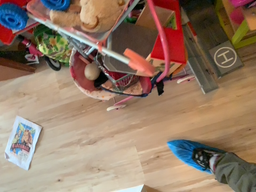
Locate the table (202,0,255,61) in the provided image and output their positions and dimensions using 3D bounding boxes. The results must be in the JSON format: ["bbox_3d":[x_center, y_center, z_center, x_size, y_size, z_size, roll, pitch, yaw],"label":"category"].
[{"bbox_3d":[0.520,-0.390,0.860,0.290,0.450,0.320,-18,83,12],"label":"table"}]
